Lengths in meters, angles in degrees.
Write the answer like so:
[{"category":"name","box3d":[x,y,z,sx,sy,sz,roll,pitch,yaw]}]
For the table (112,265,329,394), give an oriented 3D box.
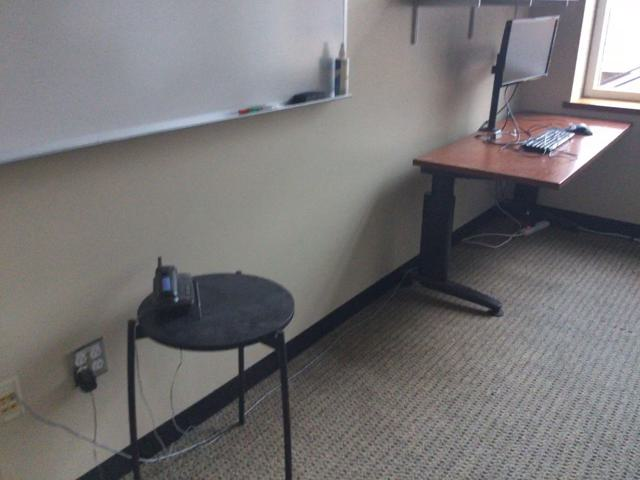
[{"category":"table","box3d":[-0.270,0.220,1.610,0.420,0.120,0.410,10,21,37]}]
